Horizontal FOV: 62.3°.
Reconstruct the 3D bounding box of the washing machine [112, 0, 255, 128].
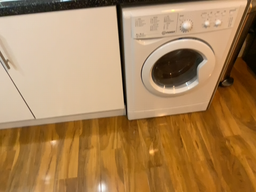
[{"bbox_3d":[0.230,-0.340,1.410,0.600,0.920,0.630,-6,48,-4],"label":"washing machine"}]
